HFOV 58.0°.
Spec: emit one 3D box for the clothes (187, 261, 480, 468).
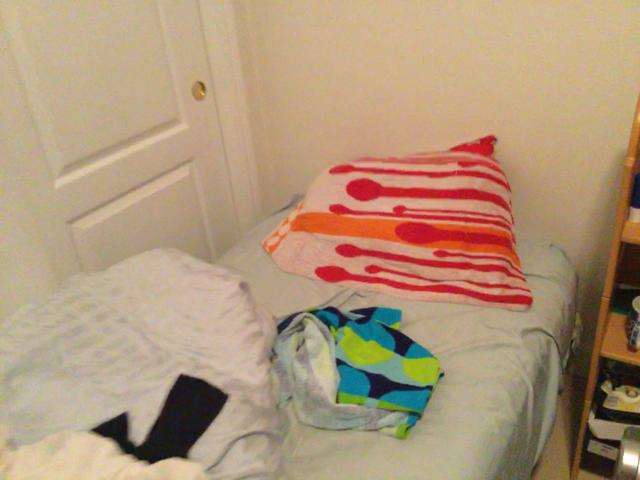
[{"bbox_3d":[0.040,0.240,1.350,0.500,0.090,0.470,11,32,36],"label":"clothes"}]
